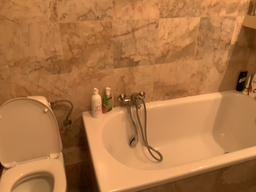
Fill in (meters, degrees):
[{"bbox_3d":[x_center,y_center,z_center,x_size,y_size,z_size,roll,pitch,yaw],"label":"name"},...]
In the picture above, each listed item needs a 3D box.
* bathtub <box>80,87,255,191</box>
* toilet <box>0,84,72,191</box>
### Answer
[{"bbox_3d":[0.420,0.420,1.510,1.370,0.560,0.710,-8,30,-16],"label":"bathtub"},{"bbox_3d":[-0.540,0.440,1.210,0.360,0.780,0.640,-8,30,-16],"label":"toilet"}]
